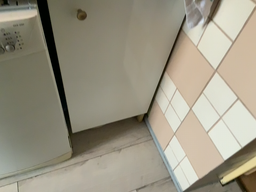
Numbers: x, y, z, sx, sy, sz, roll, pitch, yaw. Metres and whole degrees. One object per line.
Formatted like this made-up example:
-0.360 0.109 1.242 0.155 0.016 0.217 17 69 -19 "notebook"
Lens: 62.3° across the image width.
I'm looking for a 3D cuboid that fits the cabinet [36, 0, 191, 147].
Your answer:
-0.140 -0.240 0.920 0.400 0.870 0.520 -12 57 -17 "cabinet"
